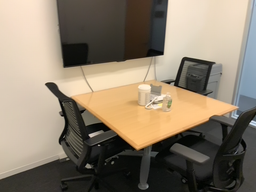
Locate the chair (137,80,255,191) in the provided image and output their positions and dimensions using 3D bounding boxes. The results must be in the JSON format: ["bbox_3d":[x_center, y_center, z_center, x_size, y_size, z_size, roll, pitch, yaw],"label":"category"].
[{"bbox_3d":[0.600,0.520,1.610,0.760,1.030,0.730,-17,26,-36],"label":"chair"}]

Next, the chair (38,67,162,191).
[{"bbox_3d":[-0.270,0.380,1.930,0.750,1.050,0.810,-12,24,-28],"label":"chair"}]

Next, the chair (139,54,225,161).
[{"bbox_3d":[0.640,0.080,2.730,0.680,1.080,0.720,-13,24,-32],"label":"chair"}]
